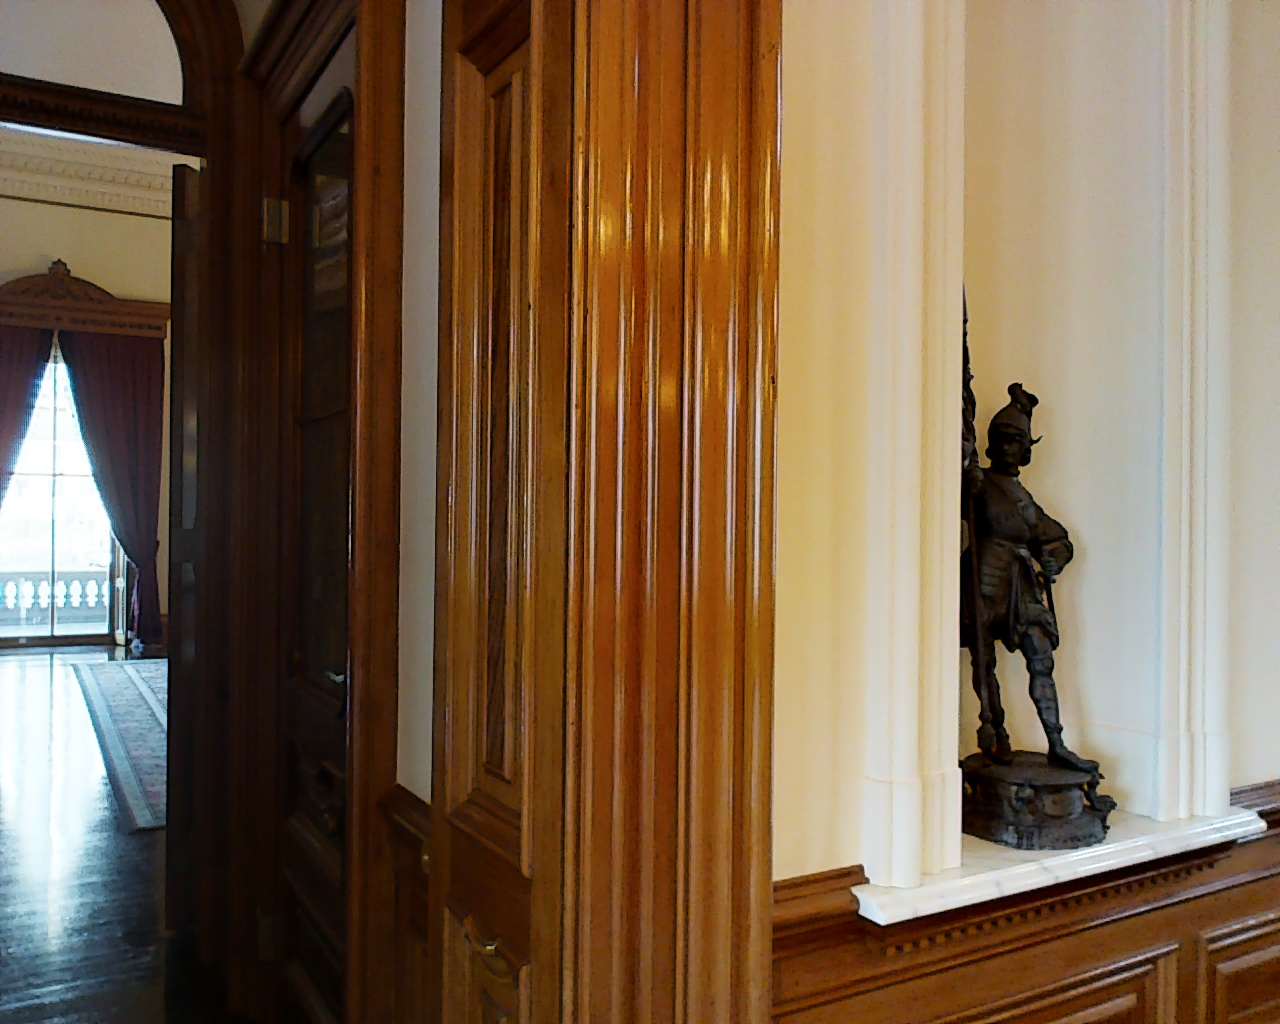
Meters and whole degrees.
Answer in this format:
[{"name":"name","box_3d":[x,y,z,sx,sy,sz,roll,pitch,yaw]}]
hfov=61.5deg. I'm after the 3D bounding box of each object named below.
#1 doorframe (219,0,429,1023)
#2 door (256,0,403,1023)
[{"name":"doorframe","box_3d":[-0.890,-0.020,2.840,0.150,3.060,1.450,0,0,-31]},{"name":"door","box_3d":[-0.850,0.150,2.860,0.120,2.710,0.920,0,0,-31]}]
